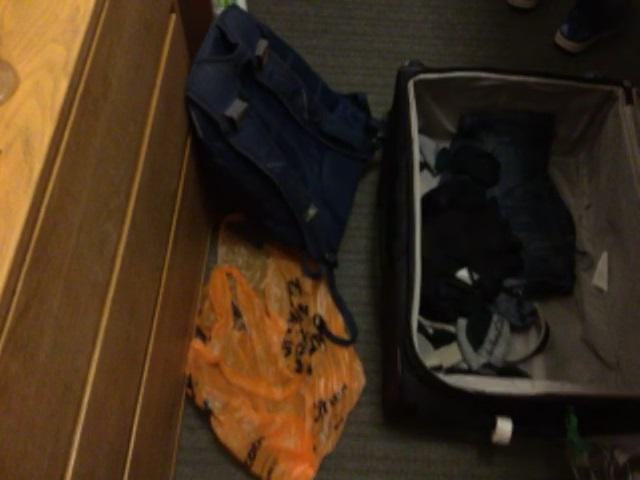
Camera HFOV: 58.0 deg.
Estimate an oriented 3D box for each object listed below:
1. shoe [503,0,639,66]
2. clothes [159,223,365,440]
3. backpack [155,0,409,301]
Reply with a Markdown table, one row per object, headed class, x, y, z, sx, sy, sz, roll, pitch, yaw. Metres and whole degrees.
| class | x | y | z | sx | sy | sz | roll | pitch | yaw |
| --- | --- | --- | --- | --- | --- | --- | --- | --- | --- |
| shoe | 0.690 | -0.680 | 1.560 | 0.350 | 0.120 | 0.430 | 2 | 62 | 0 |
| clothes | -0.090 | 0.170 | 1.100 | 0.340 | 0.140 | 0.370 | 2 | 62 | 0 |
| backpack | -0.050 | -0.160 | 1.130 | 0.370 | 0.440 | 0.410 | 2 | 62 | 0 |
